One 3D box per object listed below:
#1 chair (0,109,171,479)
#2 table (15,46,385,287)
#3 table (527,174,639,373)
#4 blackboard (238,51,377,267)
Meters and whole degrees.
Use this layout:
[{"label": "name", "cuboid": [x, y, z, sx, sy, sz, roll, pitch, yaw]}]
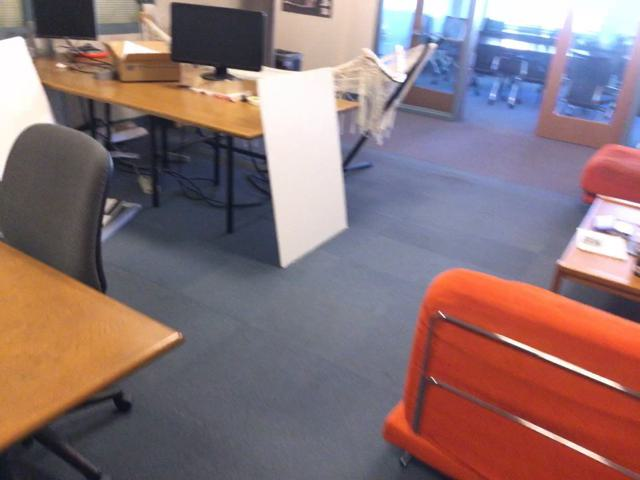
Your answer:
[{"label": "chair", "cuboid": [-0.910, 0.230, 1.680, 0.510, 1.020, 0.670, 18, 30, 31]}, {"label": "table", "cuboid": [-0.730, -0.630, 3.740, 1.810, 0.890, 1.330, 18, 30, 31]}, {"label": "table", "cuboid": [1.670, 0.120, 2.930, 0.760, 0.420, 1.340, 18, 30, 31]}, {"label": "blackboard", "cuboid": [-0.070, -0.470, 3.270, 0.200, 1.030, 0.820, 27, 34, 25]}]
